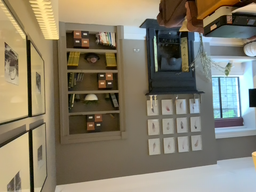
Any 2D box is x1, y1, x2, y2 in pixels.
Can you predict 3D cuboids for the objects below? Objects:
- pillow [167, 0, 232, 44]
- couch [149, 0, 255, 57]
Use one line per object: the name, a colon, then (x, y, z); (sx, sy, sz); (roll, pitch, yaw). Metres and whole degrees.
pillow: (0.790, -0.840, 2.430); (0.560, 0.350, 0.440); (-2, 177, -4)
couch: (1.250, -1.040, 2.570); (1.670, 0.860, 1.110); (-2, 177, -16)
